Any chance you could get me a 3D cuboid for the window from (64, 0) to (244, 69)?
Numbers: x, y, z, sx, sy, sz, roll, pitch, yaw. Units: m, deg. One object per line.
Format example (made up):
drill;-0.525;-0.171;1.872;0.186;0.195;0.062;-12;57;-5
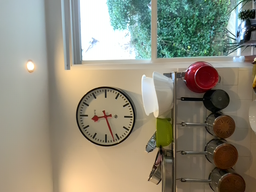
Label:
window;0.170;-0.700;1.660;0.060;1.370;0.940;-38;-52;-81
